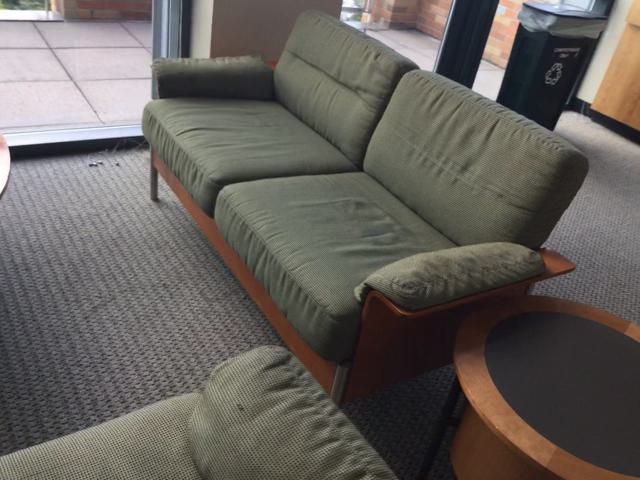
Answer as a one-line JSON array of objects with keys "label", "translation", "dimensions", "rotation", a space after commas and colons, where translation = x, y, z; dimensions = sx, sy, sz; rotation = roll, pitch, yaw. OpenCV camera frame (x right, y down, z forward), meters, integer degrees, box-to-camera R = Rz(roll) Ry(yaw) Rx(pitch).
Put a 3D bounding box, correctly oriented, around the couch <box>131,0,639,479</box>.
[{"label": "couch", "translation": [0.000, -0.200, 1.880], "dimensions": [0.800, 0.780, 1.550], "rotation": [-10, 36, -28]}]
